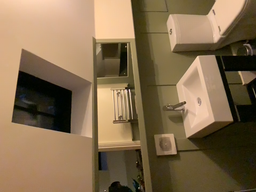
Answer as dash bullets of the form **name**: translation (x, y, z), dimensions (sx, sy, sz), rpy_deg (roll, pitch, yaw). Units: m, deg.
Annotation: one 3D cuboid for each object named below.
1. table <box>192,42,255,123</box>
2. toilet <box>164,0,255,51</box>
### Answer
- **table**: translation (1.020, -0.110, 1.800), dimensions (0.420, 0.710, 0.530), rpy_deg (105, 161, -64)
- **toilet**: translation (0.850, -0.760, 1.920), dimensions (0.660, 0.840, 0.400), rpy_deg (108, 159, -68)
